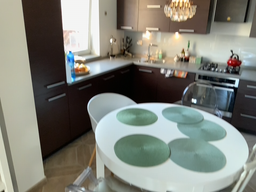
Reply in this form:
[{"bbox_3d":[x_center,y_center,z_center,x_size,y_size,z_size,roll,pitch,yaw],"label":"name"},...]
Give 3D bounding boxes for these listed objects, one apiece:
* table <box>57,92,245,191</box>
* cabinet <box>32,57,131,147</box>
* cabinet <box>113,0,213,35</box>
[{"bbox_3d":[0.270,0.600,1.850,1.160,0.770,1.140,13,23,26],"label":"table"},{"bbox_3d":[-0.600,-0.040,3.340,0.600,0.880,1.520,13,23,26],"label":"cabinet"},{"bbox_3d":[0.540,-1.500,3.710,1.700,0.710,0.340,13,23,26],"label":"cabinet"}]
